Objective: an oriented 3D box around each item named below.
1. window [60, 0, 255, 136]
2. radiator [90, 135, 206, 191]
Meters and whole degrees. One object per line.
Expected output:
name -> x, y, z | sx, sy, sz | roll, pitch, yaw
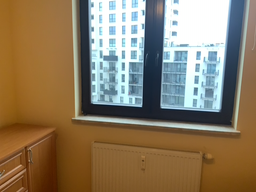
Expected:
window -> 0.190, -0.440, 1.900 | 1.610, 1.450, 0.190 | 4, 10, 12
radiator -> 0.160, 0.760, 2.010 | 1.020, 0.630, 0.220 | 4, 11, 12
